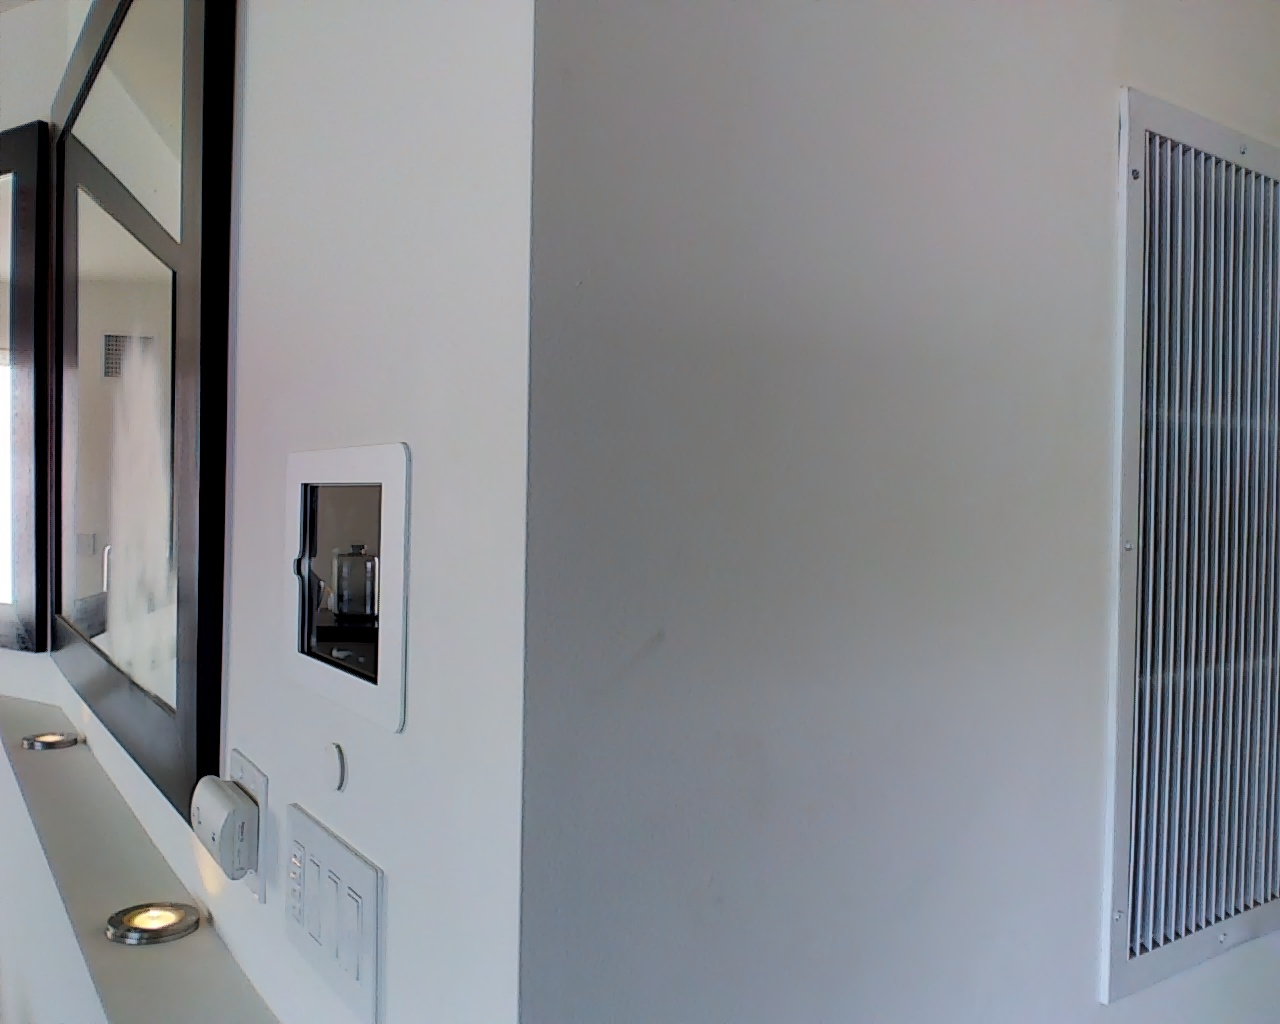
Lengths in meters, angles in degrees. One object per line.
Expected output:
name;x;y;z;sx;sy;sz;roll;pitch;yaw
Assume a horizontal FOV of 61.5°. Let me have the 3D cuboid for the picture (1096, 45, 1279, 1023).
picture;0.560;0.040;1.030;0.380;0.870;0.010;1;1;-35
